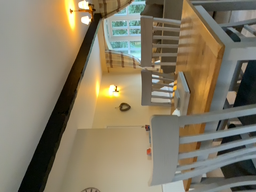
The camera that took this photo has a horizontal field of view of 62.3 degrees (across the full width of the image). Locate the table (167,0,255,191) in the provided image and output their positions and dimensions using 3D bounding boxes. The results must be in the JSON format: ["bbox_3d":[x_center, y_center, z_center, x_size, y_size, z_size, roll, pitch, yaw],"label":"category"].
[{"bbox_3d":[0.780,0.000,1.590,0.870,0.770,1.240,-88,-4,-52],"label":"table"}]
